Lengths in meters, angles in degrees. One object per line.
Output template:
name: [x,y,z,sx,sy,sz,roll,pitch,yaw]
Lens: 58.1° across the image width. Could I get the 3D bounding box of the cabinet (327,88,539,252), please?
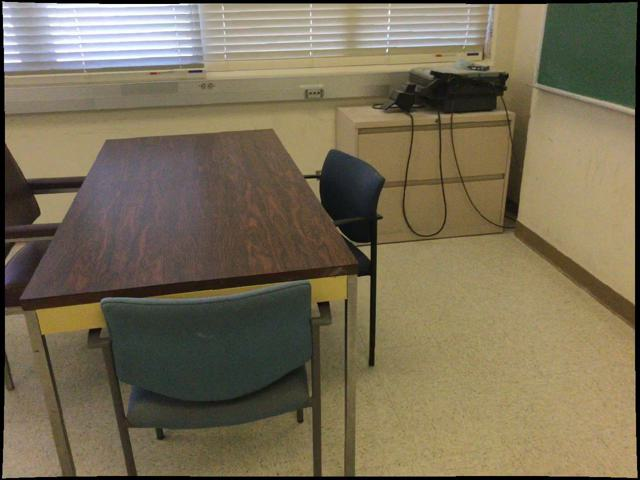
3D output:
cabinet: [0.618,-0.441,3.430,1.057,0.752,0.560,-6,26,-9]
